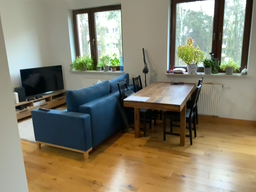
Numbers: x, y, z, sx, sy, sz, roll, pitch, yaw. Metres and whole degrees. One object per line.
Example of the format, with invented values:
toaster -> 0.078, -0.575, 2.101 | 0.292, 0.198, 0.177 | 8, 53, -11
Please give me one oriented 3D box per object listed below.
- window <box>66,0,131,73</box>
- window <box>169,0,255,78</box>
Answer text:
window -> -0.710, -1.360, 5.070 | 1.570, 1.530, 0.230 | 5, 15, 23
window -> 1.550, -1.140, 4.010 | 1.420, 1.480, 0.510 | 6, 15, 27
